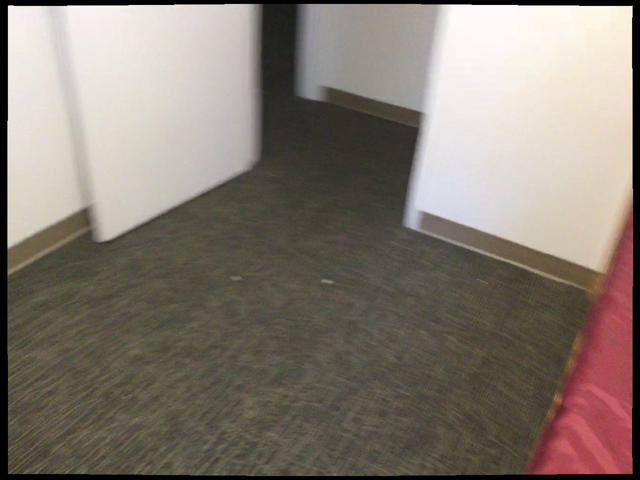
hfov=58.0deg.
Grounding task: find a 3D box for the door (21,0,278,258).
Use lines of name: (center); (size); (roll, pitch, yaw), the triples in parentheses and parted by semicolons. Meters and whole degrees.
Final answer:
door: (-0.619, -0.591, 2.470); (0.300, 0.911, 1.050); (22, 37, 23)
